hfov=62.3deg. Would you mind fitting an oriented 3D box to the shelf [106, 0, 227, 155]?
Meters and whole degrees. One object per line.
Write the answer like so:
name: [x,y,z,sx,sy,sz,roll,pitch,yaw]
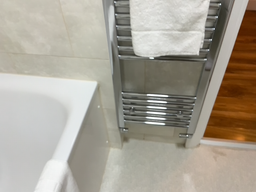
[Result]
shelf: [0.130,-0.130,0.890,0.380,1.290,0.060,5,46,8]
